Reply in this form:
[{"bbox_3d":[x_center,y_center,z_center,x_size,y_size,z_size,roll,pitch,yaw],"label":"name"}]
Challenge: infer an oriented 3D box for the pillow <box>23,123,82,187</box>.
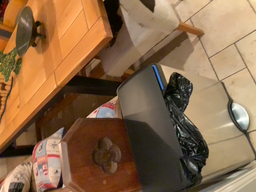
[{"bbox_3d":[-0.610,0.460,1.660,0.470,0.220,0.350,-34,63,38],"label":"pillow"}]
